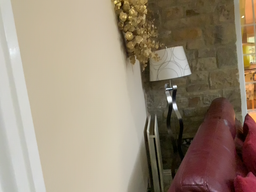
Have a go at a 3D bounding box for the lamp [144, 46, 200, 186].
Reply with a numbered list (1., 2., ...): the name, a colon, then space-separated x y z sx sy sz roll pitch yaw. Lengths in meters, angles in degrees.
1. lamp: 0.490 0.210 2.360 0.430 1.420 0.440 -6 7 11
